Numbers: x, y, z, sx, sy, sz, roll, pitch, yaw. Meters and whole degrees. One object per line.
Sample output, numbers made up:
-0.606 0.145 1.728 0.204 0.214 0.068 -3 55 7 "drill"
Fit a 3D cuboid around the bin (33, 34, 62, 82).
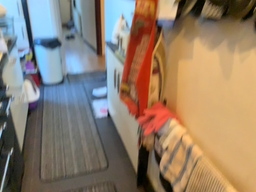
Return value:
-1.200 -0.570 3.200 0.320 0.640 0.250 -7 30 -18 "bin"
